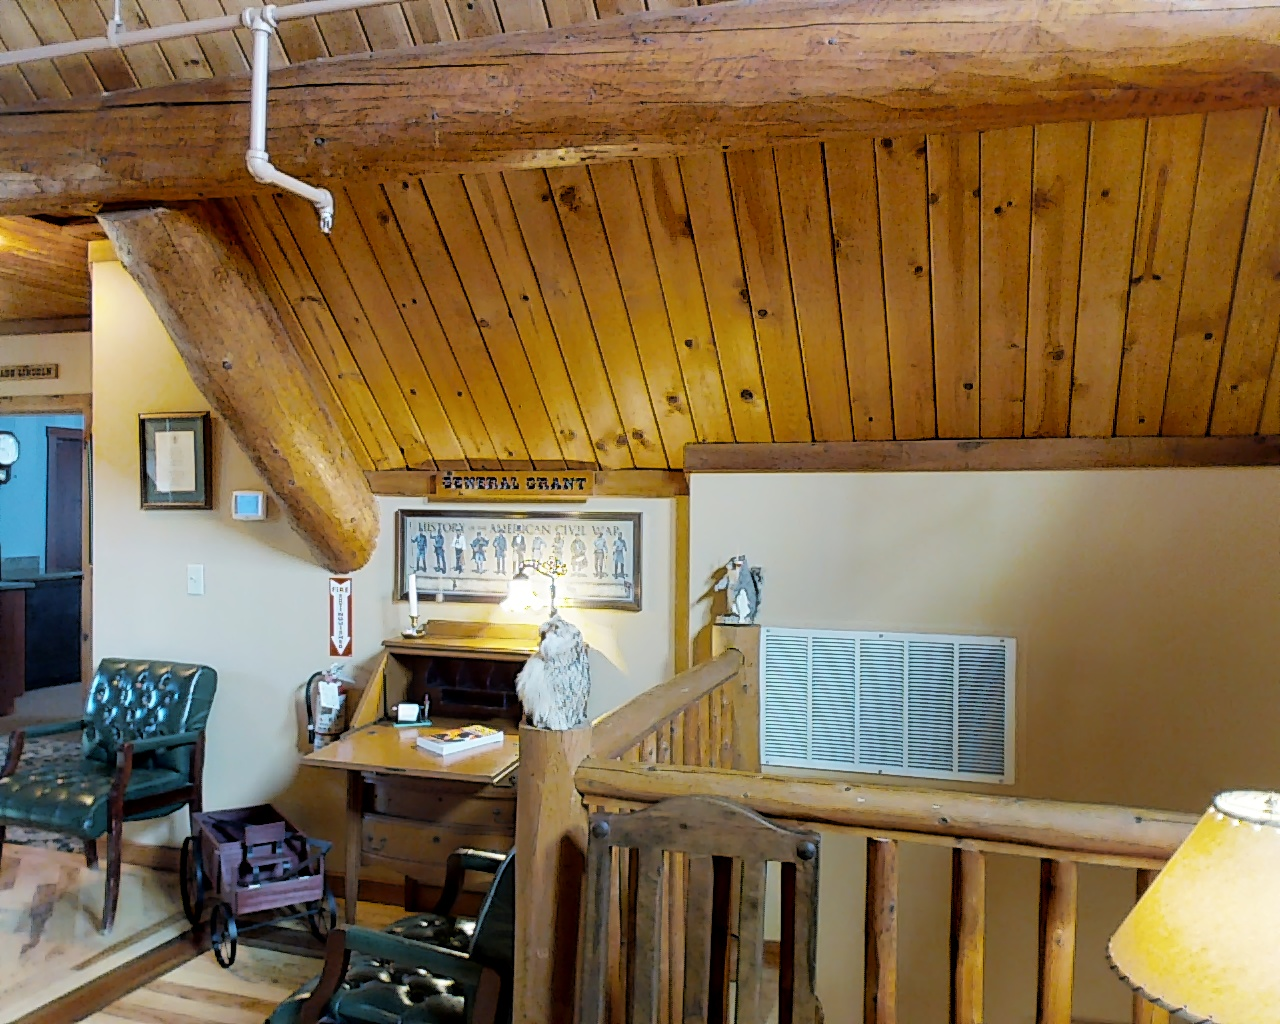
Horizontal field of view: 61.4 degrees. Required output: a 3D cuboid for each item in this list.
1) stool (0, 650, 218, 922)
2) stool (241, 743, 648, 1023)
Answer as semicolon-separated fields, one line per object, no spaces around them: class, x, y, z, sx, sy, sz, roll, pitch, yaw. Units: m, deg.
stool;-2.090;0.990;4.090;0.630;0.810;0.650;1;1;19
stool;-0.420;1.060;2.480;0.720;0.870;0.600;1;1;17
